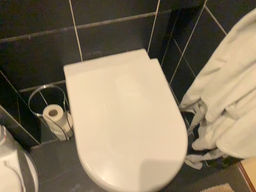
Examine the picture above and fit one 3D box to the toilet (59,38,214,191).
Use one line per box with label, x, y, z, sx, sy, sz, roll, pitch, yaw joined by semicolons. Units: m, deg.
toilet;-0.020;0.150;0.930;0.390;0.480;0.560;-11;63;-11
